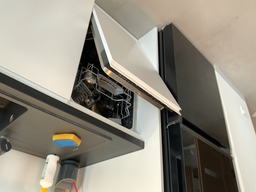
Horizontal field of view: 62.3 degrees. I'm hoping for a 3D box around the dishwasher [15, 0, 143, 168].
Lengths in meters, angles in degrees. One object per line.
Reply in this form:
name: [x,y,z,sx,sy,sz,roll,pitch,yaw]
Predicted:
dishwasher: [-0.270,-0.070,1.410,0.420,0.880,0.600,31,136,-34]
